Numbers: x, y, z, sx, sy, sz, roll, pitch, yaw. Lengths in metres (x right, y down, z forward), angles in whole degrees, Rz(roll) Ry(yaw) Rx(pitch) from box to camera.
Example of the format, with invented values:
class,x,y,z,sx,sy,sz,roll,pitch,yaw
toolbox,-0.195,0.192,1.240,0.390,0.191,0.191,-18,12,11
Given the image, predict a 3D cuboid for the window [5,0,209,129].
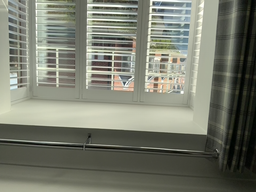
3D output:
class,x,y,z,sx,sy,sz,roll,pitch,yaw
window,-0.200,-0.910,1.990,1.800,2.330,0.270,3,-171,3
